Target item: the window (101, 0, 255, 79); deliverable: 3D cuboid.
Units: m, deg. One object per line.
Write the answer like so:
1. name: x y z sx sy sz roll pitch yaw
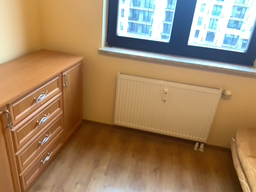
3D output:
1. window: 0.520 -0.990 1.820 1.430 1.500 0.180 11 26 8
